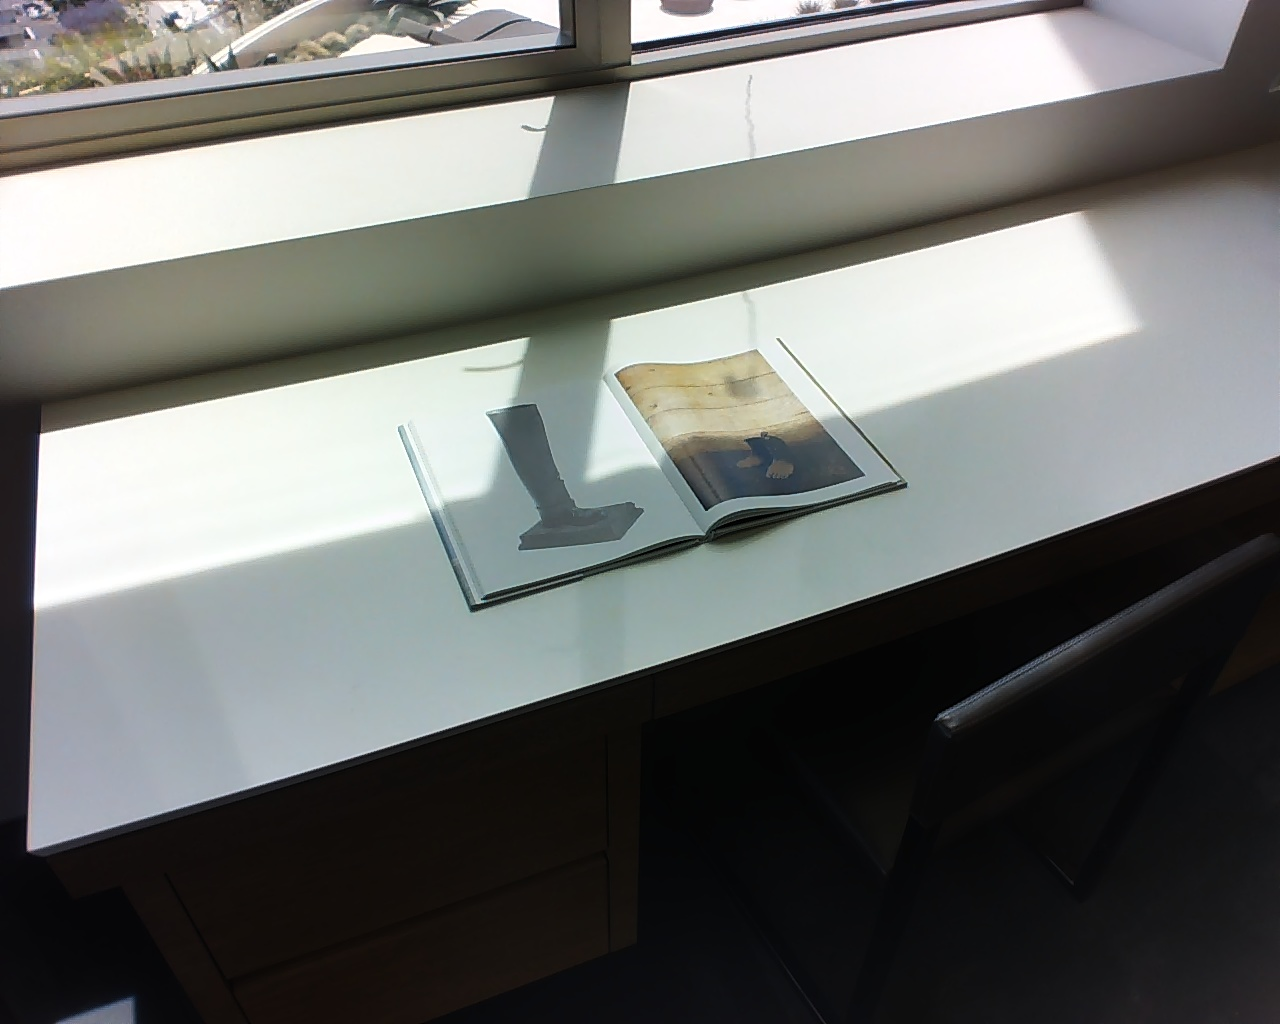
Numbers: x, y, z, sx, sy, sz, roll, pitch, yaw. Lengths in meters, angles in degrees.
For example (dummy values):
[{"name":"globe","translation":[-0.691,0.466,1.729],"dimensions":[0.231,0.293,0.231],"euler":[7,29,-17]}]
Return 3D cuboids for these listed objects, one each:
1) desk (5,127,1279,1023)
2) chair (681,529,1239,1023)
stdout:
[{"name":"desk","translation":[0.550,0.040,1.690],"dimensions":[2.540,0.790,0.700],"euler":[-16,45,-18]},{"name":"chair","translation":[0.390,0.390,1.490],"dimensions":[0.550,0.490,0.360],"euler":[-16,45,-18]}]
